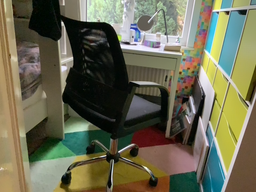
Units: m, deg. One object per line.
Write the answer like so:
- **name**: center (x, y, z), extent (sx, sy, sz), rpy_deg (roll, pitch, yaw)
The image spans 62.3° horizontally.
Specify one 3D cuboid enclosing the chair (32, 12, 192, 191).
- **chair**: center (-0.080, 0.060, 1.250), extent (0.530, 0.970, 0.630), rpy_deg (19, 26, 29)
